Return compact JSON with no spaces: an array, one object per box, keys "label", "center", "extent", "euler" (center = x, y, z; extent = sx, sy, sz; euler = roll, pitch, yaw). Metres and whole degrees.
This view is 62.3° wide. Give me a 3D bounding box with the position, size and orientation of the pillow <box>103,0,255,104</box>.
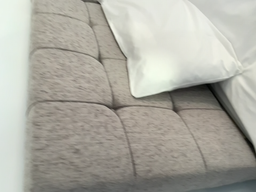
[{"label":"pillow","center":[0.150,-0.310,0.900],"extent":[0.130,0.430,0.690],"euler":[100,160,-53]}]
